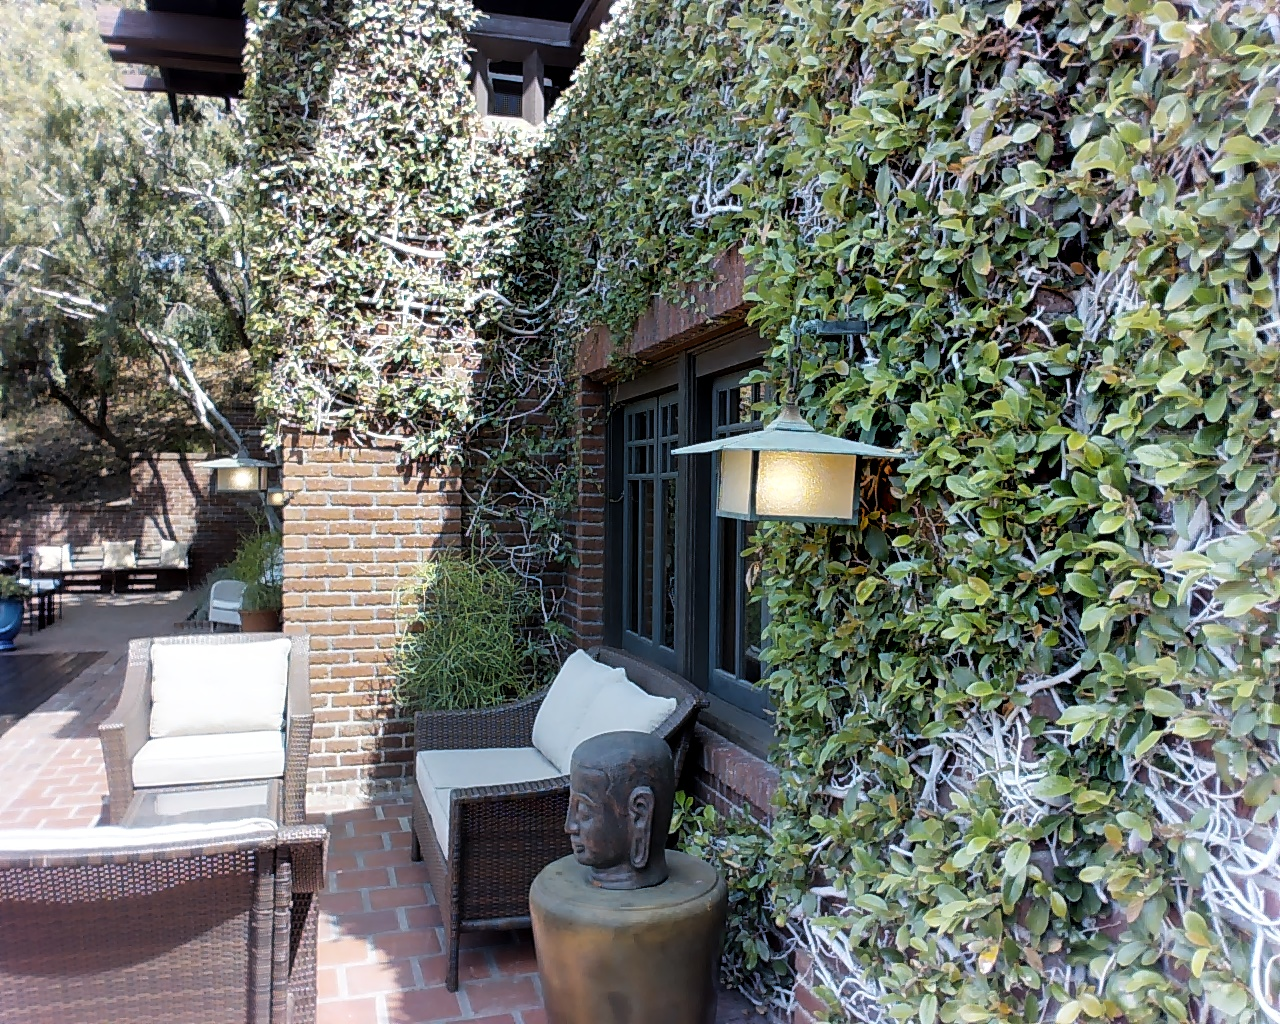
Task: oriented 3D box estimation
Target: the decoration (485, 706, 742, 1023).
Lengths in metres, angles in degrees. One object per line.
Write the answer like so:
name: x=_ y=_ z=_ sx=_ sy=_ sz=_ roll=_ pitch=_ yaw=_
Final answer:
decoration: x=-0.080 y=1.050 z=2.890 sx=0.450 sy=0.920 sz=0.540 roll=-1 pitch=2 yaw=-39
